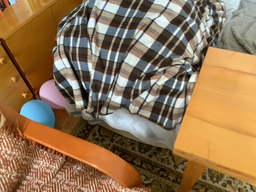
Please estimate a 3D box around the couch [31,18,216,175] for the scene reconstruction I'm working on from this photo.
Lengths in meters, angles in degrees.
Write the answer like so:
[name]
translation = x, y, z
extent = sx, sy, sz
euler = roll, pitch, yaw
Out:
[couch]
translation = 0.010, -0.030, 1.220
extent = 0.750, 0.490, 0.540
euler = 16, 52, 19
